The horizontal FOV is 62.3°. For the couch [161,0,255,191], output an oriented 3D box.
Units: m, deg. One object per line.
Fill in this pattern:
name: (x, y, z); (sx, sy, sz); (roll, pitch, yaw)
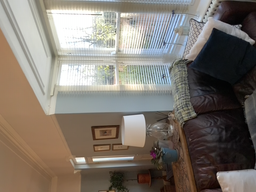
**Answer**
couch: (0.990, 0.340, 1.680); (0.980, 0.870, 2.300); (101, 166, -58)

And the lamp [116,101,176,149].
lamp: (0.180, 0.350, 2.480); (0.420, 0.590, 0.420); (103, 164, -63)
